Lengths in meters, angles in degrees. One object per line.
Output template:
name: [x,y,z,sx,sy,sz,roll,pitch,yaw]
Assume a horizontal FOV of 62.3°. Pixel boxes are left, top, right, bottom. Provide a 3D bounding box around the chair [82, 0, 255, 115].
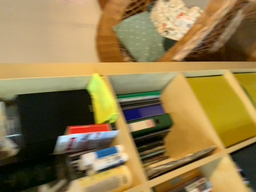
chair: [0.300,-0.390,1.240,0.620,0.830,0.650,58,138,32]
